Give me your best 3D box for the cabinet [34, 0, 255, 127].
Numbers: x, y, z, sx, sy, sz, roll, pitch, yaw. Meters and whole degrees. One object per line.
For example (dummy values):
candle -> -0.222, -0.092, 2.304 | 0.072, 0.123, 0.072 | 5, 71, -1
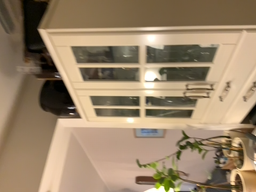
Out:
cabinet -> 0.150, -0.190, 1.000 | 0.650, 0.830, 0.400 | 86, -174, -55
